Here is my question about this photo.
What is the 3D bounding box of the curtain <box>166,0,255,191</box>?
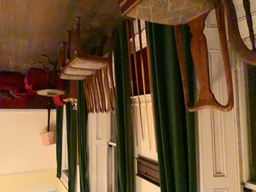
[{"bbox_3d":[0.550,0.370,1.340,0.390,2.510,0.440,2,175,-30],"label":"curtain"}]
